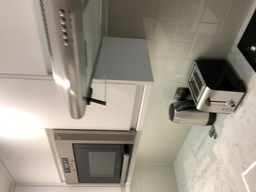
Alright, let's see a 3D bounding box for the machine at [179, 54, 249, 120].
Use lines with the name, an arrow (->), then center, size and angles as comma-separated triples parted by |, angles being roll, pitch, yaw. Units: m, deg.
machine -> 0.420, -0.050, 1.100 | 0.280, 0.200, 0.200 | -93, 8, -45
